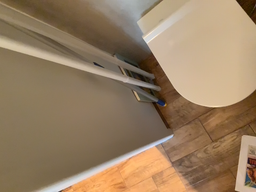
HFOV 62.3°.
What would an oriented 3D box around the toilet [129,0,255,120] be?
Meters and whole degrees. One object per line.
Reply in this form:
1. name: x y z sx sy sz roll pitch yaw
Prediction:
1. toilet: 0.350 -0.210 0.960 0.370 0.390 0.500 -36 73 18
